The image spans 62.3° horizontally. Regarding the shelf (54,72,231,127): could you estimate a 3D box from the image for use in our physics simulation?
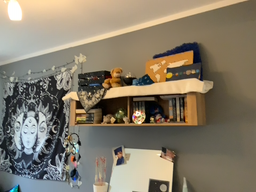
[{"bbox_3d":[0.030,0.090,1.910,1.580,0.360,0.370,-4,-9,30],"label":"shelf"}]
